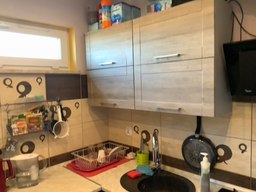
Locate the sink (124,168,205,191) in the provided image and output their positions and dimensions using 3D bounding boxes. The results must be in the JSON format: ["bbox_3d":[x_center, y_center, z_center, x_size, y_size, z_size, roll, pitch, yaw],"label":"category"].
[{"bbox_3d":[0.280,0.740,1.600,0.410,0.150,0.460,2,5,44],"label":"sink"}]
